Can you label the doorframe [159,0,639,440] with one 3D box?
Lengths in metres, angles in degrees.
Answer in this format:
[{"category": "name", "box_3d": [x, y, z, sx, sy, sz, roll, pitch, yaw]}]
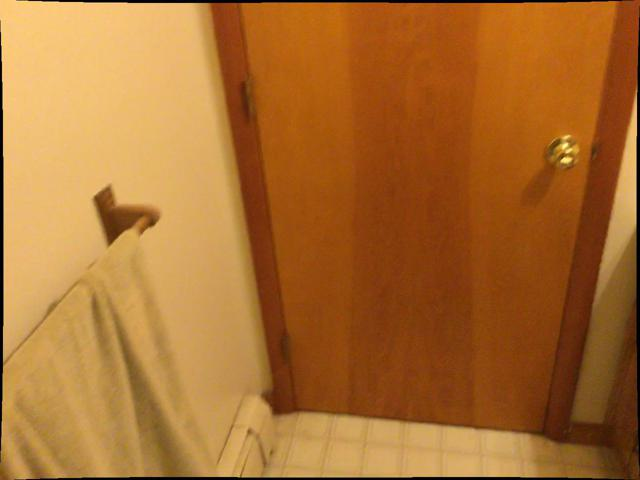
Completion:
[{"category": "doorframe", "box_3d": [0.170, -0.270, 1.340, 0.999, 1.861, 0.110, 2, 31, 11]}]
